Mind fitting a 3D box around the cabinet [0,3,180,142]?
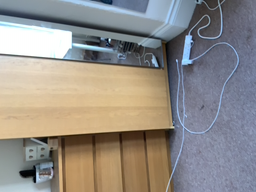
[{"bbox_3d":[-0.610,-0.100,1.760,0.670,1.980,0.880,-21,70,62],"label":"cabinet"}]
